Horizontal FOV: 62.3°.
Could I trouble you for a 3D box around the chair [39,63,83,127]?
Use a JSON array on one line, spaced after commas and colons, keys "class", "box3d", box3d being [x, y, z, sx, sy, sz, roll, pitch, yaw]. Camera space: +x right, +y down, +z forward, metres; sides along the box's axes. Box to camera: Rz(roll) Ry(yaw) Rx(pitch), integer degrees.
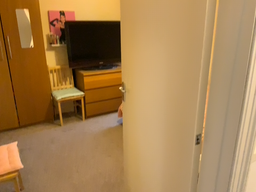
[{"class": "chair", "box3d": [-1.080, -0.050, 3.410, 0.450, 0.850, 0.560, -13, 22, -31]}]
